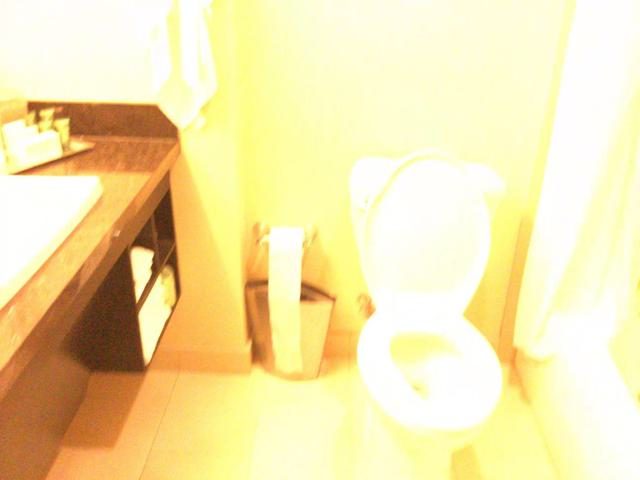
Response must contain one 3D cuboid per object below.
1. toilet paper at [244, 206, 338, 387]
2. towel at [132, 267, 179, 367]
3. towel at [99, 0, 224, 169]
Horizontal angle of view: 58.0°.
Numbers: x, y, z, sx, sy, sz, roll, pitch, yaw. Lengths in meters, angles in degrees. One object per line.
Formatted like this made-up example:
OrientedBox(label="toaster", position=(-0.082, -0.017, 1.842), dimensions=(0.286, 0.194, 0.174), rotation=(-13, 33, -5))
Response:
OrientedBox(label="toilet paper", position=(-0.100, 0.200, 1.960), dimensions=(0.280, 0.600, 0.150), rotation=(4, 25, 4))
OrientedBox(label="towel", position=(-0.460, 0.210, 1.640), dimensions=(0.060, 0.160, 0.270), rotation=(1, 25, -3))
OrientedBox(label="towel", position=(-0.380, -0.700, 1.370), dimensions=(0.250, 1.040, 0.200), rotation=(1, 25, -3))
